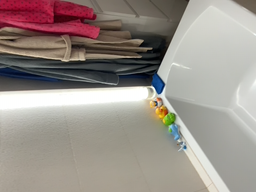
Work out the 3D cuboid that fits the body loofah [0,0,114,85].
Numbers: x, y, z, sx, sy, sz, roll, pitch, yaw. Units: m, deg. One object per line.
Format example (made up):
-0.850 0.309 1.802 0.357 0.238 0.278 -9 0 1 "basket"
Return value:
-0.500 -0.300 1.140 0.200 0.740 0.450 64 146 36 "body loofah"
